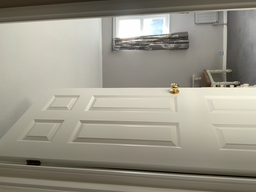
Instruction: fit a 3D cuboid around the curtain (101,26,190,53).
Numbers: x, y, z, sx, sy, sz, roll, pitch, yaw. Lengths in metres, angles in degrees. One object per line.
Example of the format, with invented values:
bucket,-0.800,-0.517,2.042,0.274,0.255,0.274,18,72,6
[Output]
curtain,0.300,-1.040,3.980,0.190,1.630,0.380,-22,-67,-74
